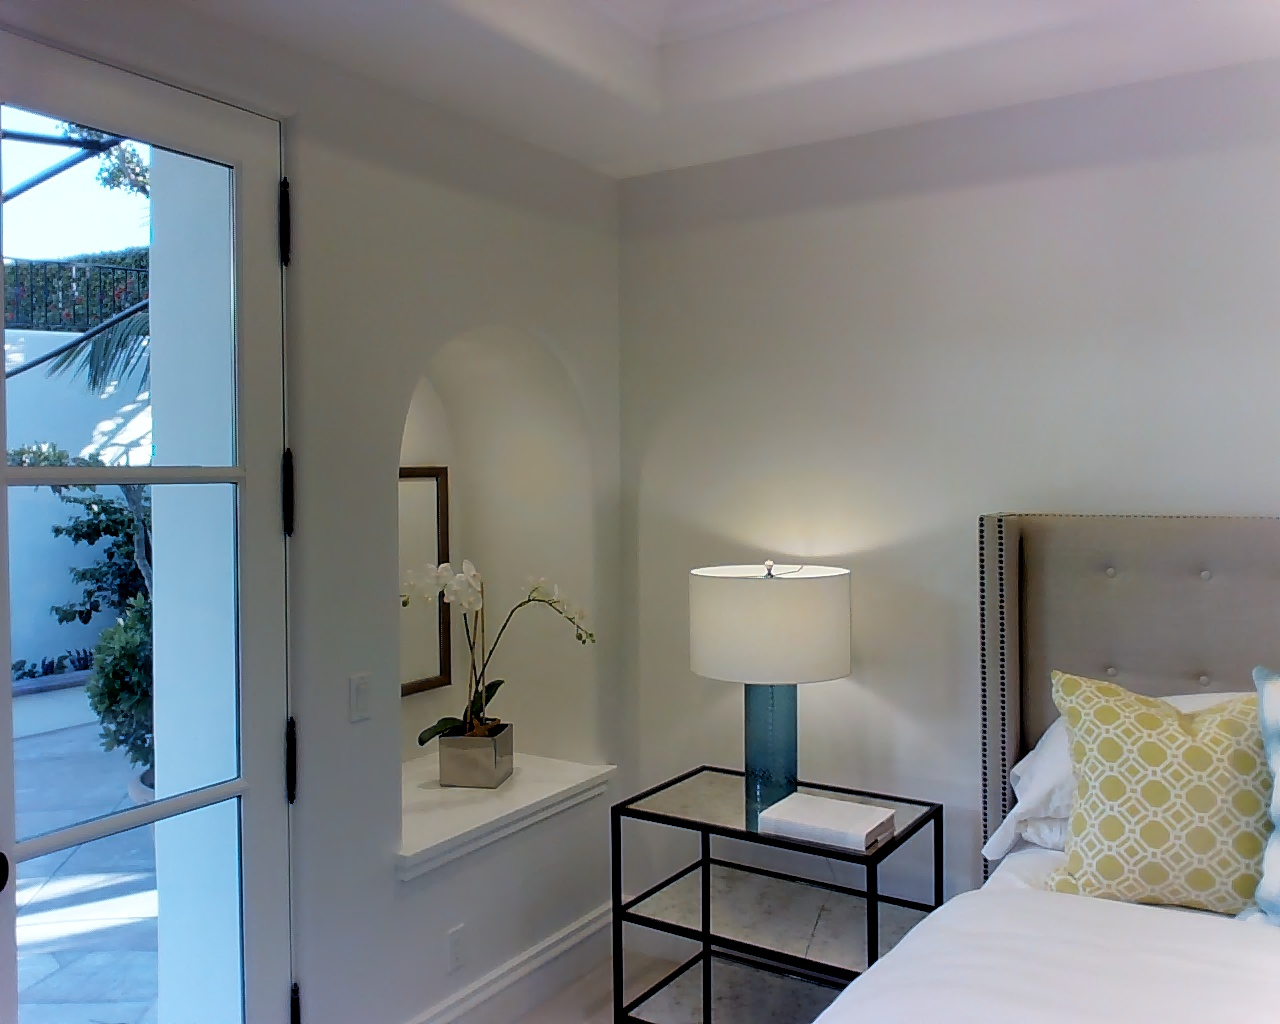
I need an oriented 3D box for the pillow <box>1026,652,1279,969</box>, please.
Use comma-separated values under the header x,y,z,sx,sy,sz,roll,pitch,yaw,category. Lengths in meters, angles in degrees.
x,y,z,sx,sy,sz,roll,pitch,yaw,category
1.080,0.570,2.130,0.490,0.420,0.310,13,8,23,pillow
